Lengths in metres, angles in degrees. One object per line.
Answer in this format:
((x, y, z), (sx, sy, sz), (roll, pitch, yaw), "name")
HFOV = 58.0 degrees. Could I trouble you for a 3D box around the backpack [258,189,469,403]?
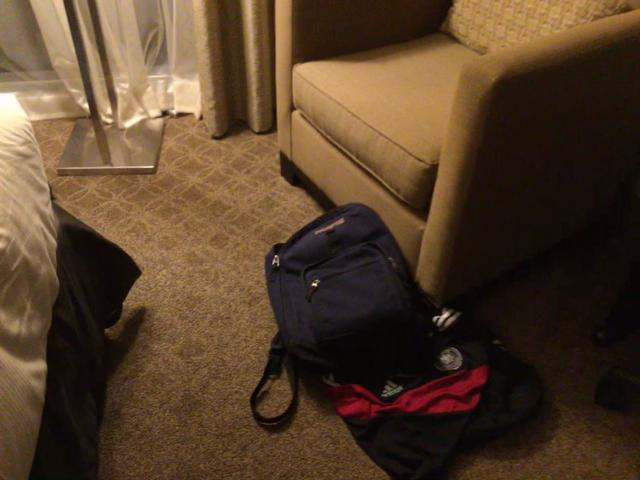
((0.070, 0.110, 1.380), (0.390, 0.220, 0.450), (-5, 40, -8), "backpack")
